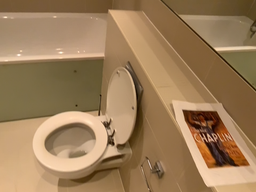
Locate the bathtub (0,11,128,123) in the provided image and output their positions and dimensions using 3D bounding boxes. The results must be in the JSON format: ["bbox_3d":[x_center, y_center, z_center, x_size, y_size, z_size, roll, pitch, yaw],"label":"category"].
[{"bbox_3d":[-0.940,-0.250,1.700,1.690,0.580,0.690,-7,46,-18],"label":"bathtub"}]
